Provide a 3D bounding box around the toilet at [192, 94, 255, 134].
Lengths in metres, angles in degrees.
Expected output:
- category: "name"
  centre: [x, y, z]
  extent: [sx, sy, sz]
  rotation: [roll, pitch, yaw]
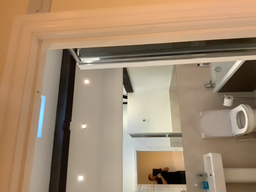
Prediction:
- category: "toilet"
  centre: [1.410, 0.270, 2.890]
  extent: [0.650, 0.880, 0.390]
  rotation: [72, -163, -72]
